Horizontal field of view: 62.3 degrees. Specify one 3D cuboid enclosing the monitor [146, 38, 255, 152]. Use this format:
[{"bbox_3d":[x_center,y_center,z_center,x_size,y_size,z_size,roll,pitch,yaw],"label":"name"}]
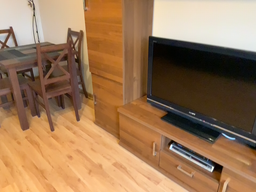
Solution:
[{"bbox_3d":[0.500,-0.060,1.560,0.050,0.620,0.910,-22,32,-39],"label":"monitor"}]
